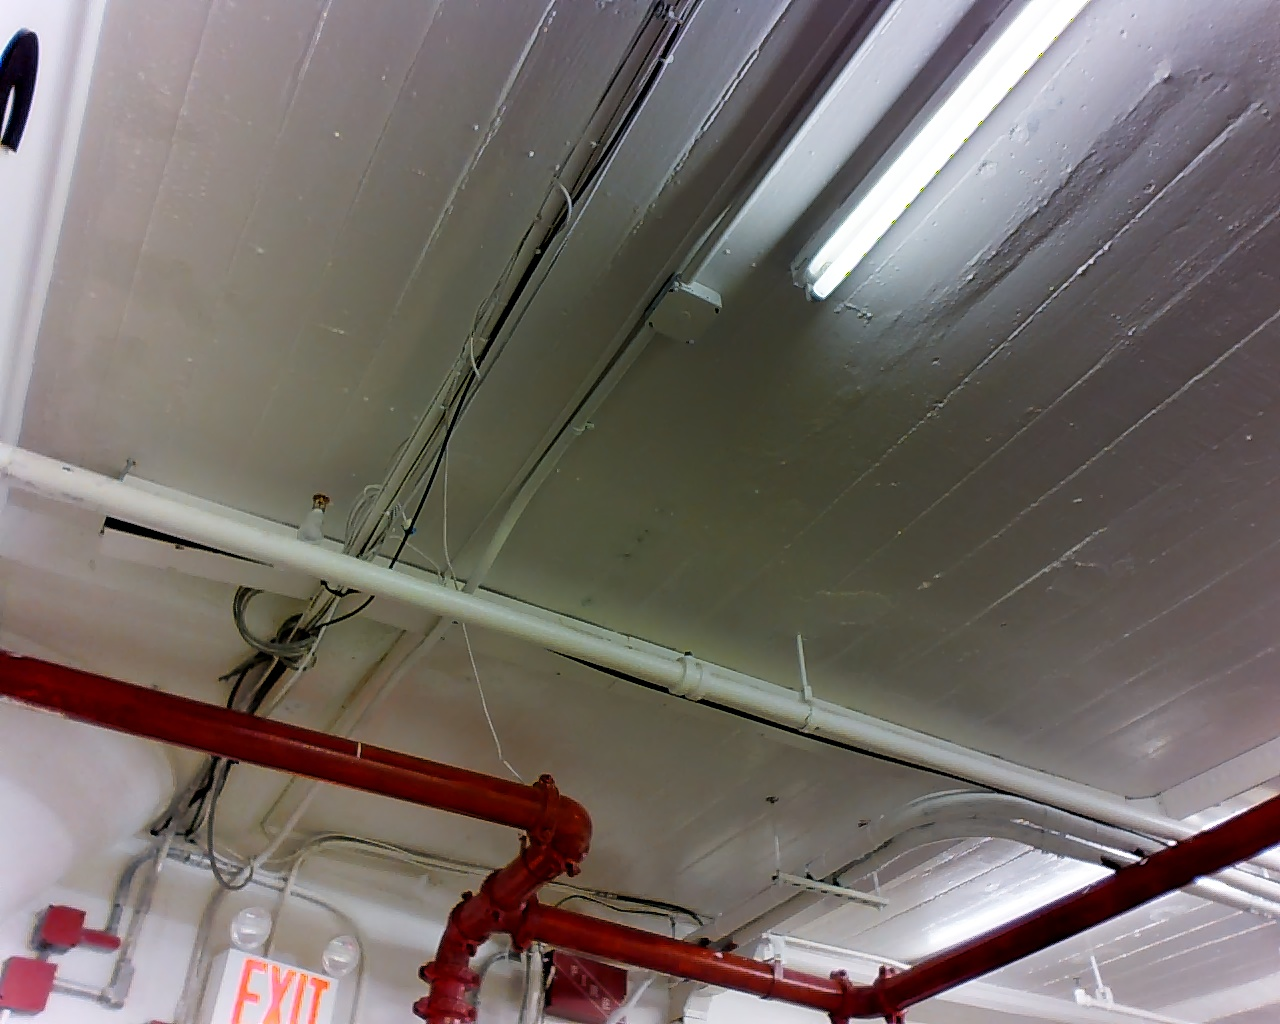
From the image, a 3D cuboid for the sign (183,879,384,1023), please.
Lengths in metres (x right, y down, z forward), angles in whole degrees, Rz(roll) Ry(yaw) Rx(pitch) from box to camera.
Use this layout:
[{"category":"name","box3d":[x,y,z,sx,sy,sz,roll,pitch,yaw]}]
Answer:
[{"category":"sign","box3d":[-1.079,1.451,3.260,0.490,0.490,0.190,30,-50,-29]}]
